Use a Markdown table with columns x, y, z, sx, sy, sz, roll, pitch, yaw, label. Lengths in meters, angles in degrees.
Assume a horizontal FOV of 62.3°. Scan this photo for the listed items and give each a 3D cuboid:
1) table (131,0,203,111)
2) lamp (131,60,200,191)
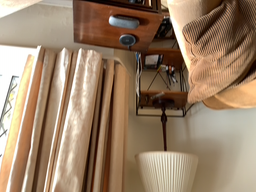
| x | y | z | sx | sy | sz | roll | pitch | yaw | label |
| --- | --- | --- | --- | --- | --- | --- | --- | --- | --- |
| 0.280 | -0.320 | 1.690 | 0.440 | 0.780 | 0.270 | 8 | 156 | -15 | table |
| 0.280 | 0.270 | 1.530 | 0.370 | 0.860 | 0.500 | -6 | 155 | 17 | lamp |
